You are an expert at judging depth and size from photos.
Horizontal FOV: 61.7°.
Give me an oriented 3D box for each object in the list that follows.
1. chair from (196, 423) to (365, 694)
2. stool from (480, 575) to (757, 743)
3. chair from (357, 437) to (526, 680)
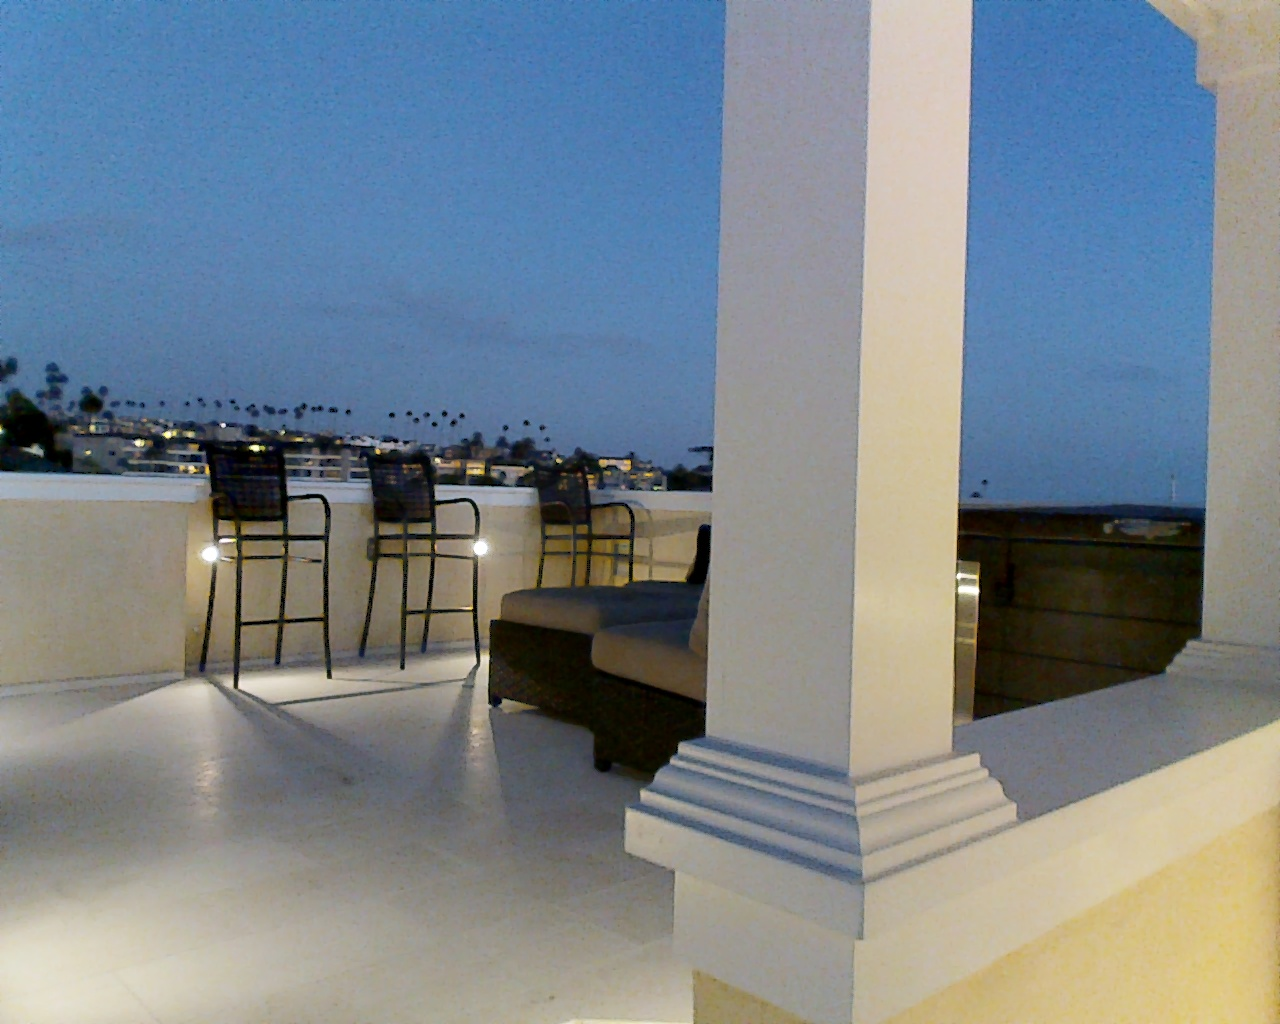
[{"bbox_3d":[-1.959,0.230,5.820,0.590,1.351,0.790,1,0,-42],"label":"chair"},{"bbox_3d":[-0.110,0.640,5.040,0.870,0.610,0.980,1,0,-41],"label":"stool"},{"bbox_3d":[-1.209,0.260,6.510,0.730,1.361,0.720,1,0,-42],"label":"chair"}]
